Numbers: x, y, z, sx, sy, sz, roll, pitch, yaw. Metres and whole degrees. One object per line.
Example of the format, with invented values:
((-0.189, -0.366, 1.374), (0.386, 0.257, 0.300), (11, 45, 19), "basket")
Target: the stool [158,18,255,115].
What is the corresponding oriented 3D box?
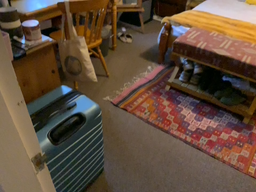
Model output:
((0.790, -0.310, 2.000), (0.840, 0.530, 0.410), (28, 45, 26), "stool")
